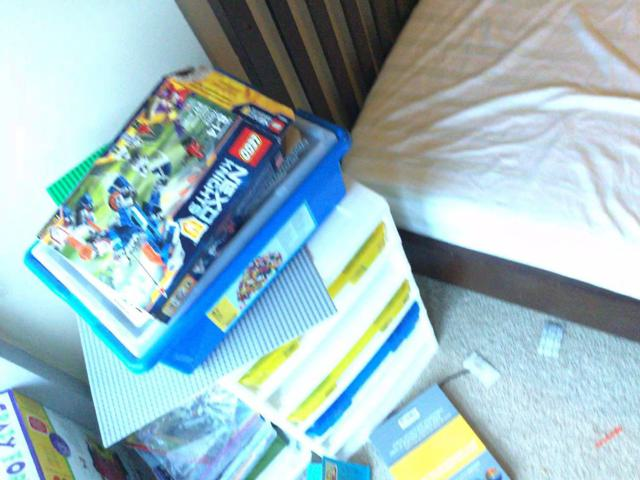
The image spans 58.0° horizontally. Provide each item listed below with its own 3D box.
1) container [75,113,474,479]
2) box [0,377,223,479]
[{"bbox_3d":[-0.030,0.160,1.160,0.410,0.590,0.460,26,74,33],"label":"container"},{"bbox_3d":[-0.430,0.450,1.090,0.310,0.460,0.180,18,70,31],"label":"box"}]
